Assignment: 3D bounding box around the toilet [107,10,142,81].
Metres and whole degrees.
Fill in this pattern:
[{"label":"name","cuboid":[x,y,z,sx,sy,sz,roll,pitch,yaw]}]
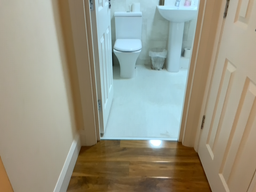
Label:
[{"label":"toilet","cuboid":[-0.030,-0.700,2.880,0.410,0.790,0.610,1,29,2]}]
